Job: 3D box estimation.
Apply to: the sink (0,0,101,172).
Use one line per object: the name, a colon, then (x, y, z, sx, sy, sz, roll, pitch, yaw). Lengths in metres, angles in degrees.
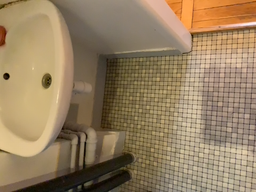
sink: (-0.340, -0.050, 0.780, 0.400, 0.180, 0.520, 4, 88, 29)
